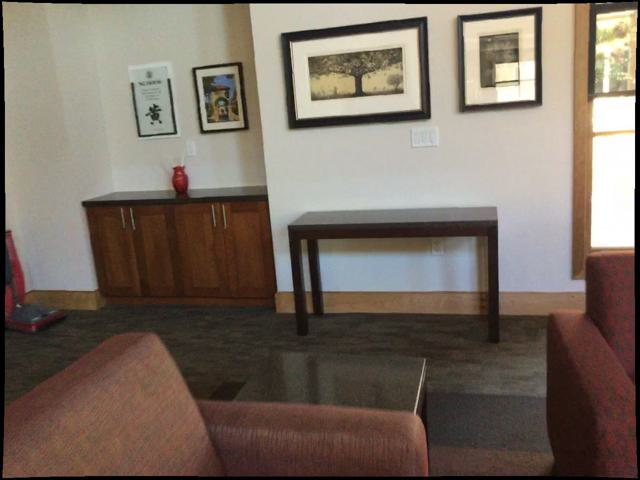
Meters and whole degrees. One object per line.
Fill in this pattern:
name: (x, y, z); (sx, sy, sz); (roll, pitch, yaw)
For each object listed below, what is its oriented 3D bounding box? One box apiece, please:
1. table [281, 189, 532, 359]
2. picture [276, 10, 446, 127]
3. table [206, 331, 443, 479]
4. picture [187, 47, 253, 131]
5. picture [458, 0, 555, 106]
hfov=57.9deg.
table: (0.499, 0.160, 3.460); (1.339, 0.791, 0.530); (3, 16, 14)
picture: (0.230, -1.011, 3.460); (0.989, 0.641, 0.080); (3, 16, 14)
table: (0.060, 0.701, 1.940); (0.629, 0.510, 0.630); (4, 16, 14)
picture: (-0.729, -1.101, 4.240); (0.460, 0.581, 0.070); (3, 16, 14)
picture: (1.029, -1.061, 3.220); (0.500, 0.581, 0.060); (0, 15, 16)
